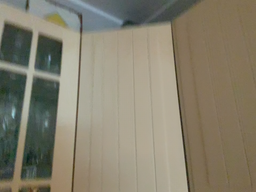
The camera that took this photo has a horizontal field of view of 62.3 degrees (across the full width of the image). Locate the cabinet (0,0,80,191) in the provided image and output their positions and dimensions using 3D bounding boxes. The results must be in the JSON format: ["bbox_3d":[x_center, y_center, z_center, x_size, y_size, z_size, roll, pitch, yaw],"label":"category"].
[{"bbox_3d":[-0.460,0.130,0.630,0.470,0.750,0.390,12,-23,-36],"label":"cabinet"}]
